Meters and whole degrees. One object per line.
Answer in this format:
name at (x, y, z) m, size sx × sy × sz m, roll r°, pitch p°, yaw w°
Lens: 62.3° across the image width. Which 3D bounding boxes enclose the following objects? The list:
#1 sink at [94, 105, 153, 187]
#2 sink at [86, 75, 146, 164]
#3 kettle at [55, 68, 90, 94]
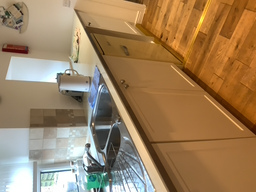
sink at (-0.050, 0.320, 1.330) m, size 0.180 × 0.200 × 0.510 m, roll -120°, pitch 40°, yaw -49°
sink at (-0.120, 0.170, 1.550) m, size 0.360 × 0.230 × 0.510 m, roll -120°, pitch 40°, yaw -49°
kettle at (-0.460, -0.120, 1.740) m, size 0.140 × 0.250 × 0.150 m, roll -119°, pitch 39°, yaw -49°
